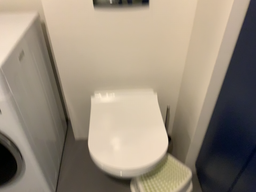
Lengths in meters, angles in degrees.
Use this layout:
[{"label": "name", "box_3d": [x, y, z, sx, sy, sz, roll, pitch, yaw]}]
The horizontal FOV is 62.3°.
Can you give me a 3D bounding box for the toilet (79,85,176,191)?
[{"label": "toilet", "box_3d": [-0.020, 0.280, 1.170, 0.380, 0.440, 0.520, -2, 40, -3]}]
